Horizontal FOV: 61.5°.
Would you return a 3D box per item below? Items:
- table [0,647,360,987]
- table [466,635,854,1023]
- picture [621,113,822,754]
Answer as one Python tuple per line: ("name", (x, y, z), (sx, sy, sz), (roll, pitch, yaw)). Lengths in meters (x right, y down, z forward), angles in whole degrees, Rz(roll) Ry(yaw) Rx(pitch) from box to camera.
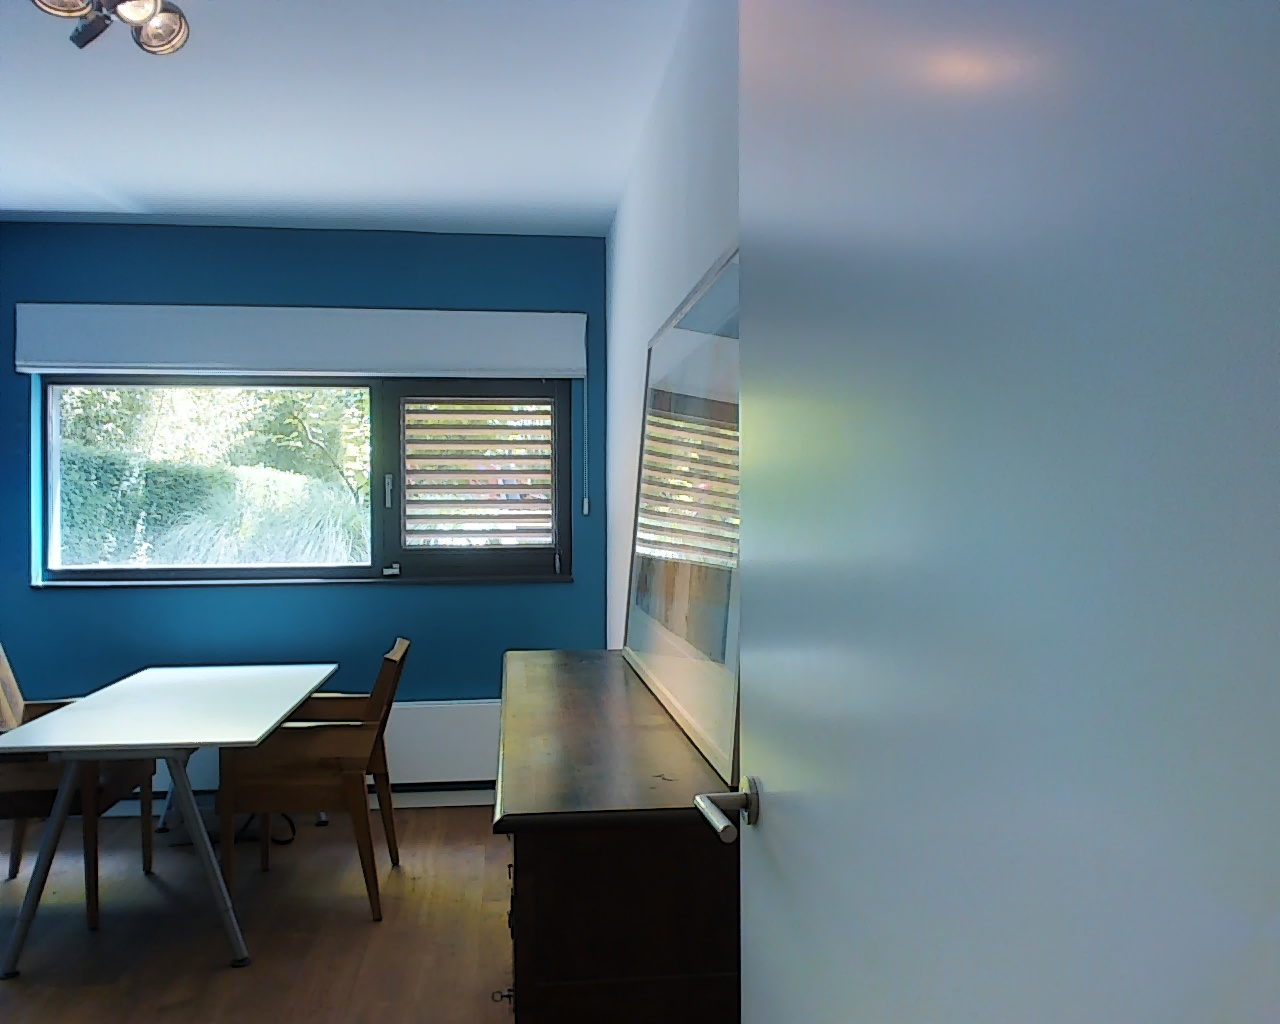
("table", (-1.630, 1.000, 4.050), (0.870, 0.740, 1.820), (0, 0, -7))
("table", (-0.080, 0.890, 2.470), (0.550, 0.990, 1.930), (0, 0, -7))
("picture", (0.110, -0.070, 2.480), (0.140, 1.010, 1.600), (0, -5, -7))
